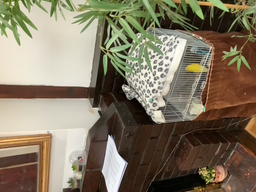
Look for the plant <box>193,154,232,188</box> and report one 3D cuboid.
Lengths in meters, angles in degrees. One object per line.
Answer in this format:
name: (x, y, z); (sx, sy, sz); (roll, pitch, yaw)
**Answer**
plant: (0.640, 0.570, 1.620); (0.140, 0.190, 0.170); (-123, 40, -51)
